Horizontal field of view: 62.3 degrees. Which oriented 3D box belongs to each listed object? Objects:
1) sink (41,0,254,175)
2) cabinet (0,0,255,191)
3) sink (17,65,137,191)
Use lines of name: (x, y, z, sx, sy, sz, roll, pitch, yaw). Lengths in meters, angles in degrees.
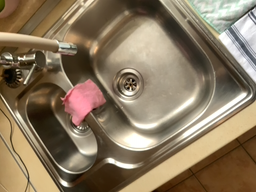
sink: (0.040, -0.090, 0.680, 0.380, 0.190, 0.490, -39, 82, 15)
cabinet: (0.060, -0.040, 1.020, 0.590, 0.850, 0.600, -39, 82, 15)
sink: (-0.170, 0.100, 0.740, 0.190, 0.160, 0.360, -39, 82, 15)
